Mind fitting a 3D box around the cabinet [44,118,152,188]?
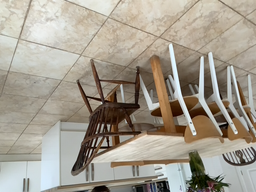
[{"bbox_3d":[-0.440,0.900,3.430,1.620,0.870,0.470,10,151,-35],"label":"cabinet"}]
